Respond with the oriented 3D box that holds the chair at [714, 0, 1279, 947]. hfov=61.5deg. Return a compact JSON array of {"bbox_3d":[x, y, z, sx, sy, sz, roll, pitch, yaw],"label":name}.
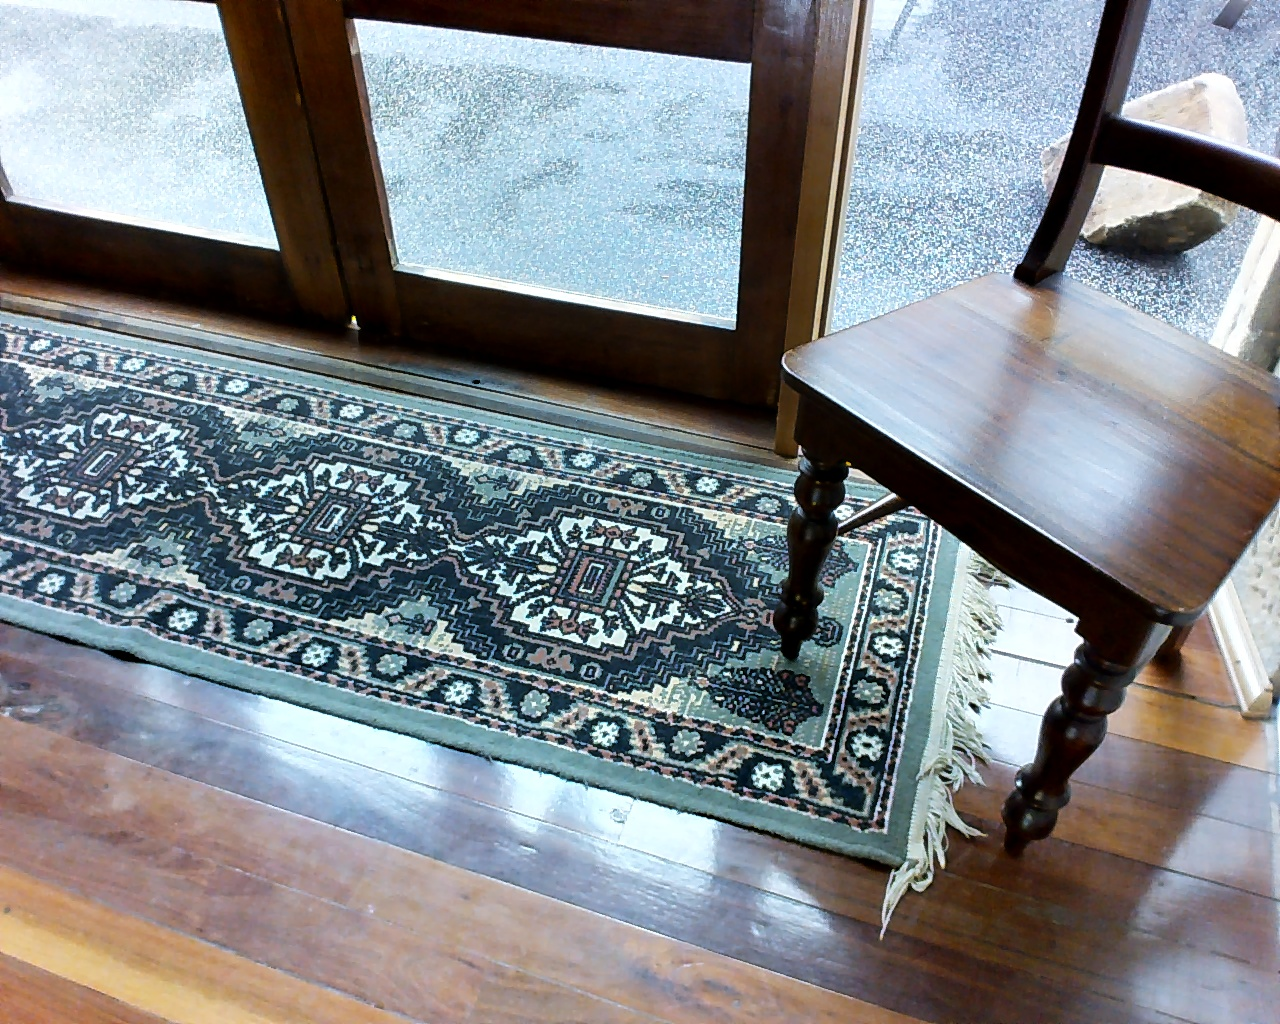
[{"bbox_3d":[0.460,-0.120,1.080,0.510,0.890,0.530,-30,51,-27],"label":"chair"}]
